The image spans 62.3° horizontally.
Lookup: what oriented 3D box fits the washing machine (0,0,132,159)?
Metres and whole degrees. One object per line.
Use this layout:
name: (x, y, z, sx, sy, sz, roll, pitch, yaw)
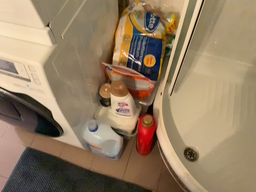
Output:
washing machine: (-0.410, -0.250, 1.130, 0.630, 0.860, 0.790, 18, 62, 9)
